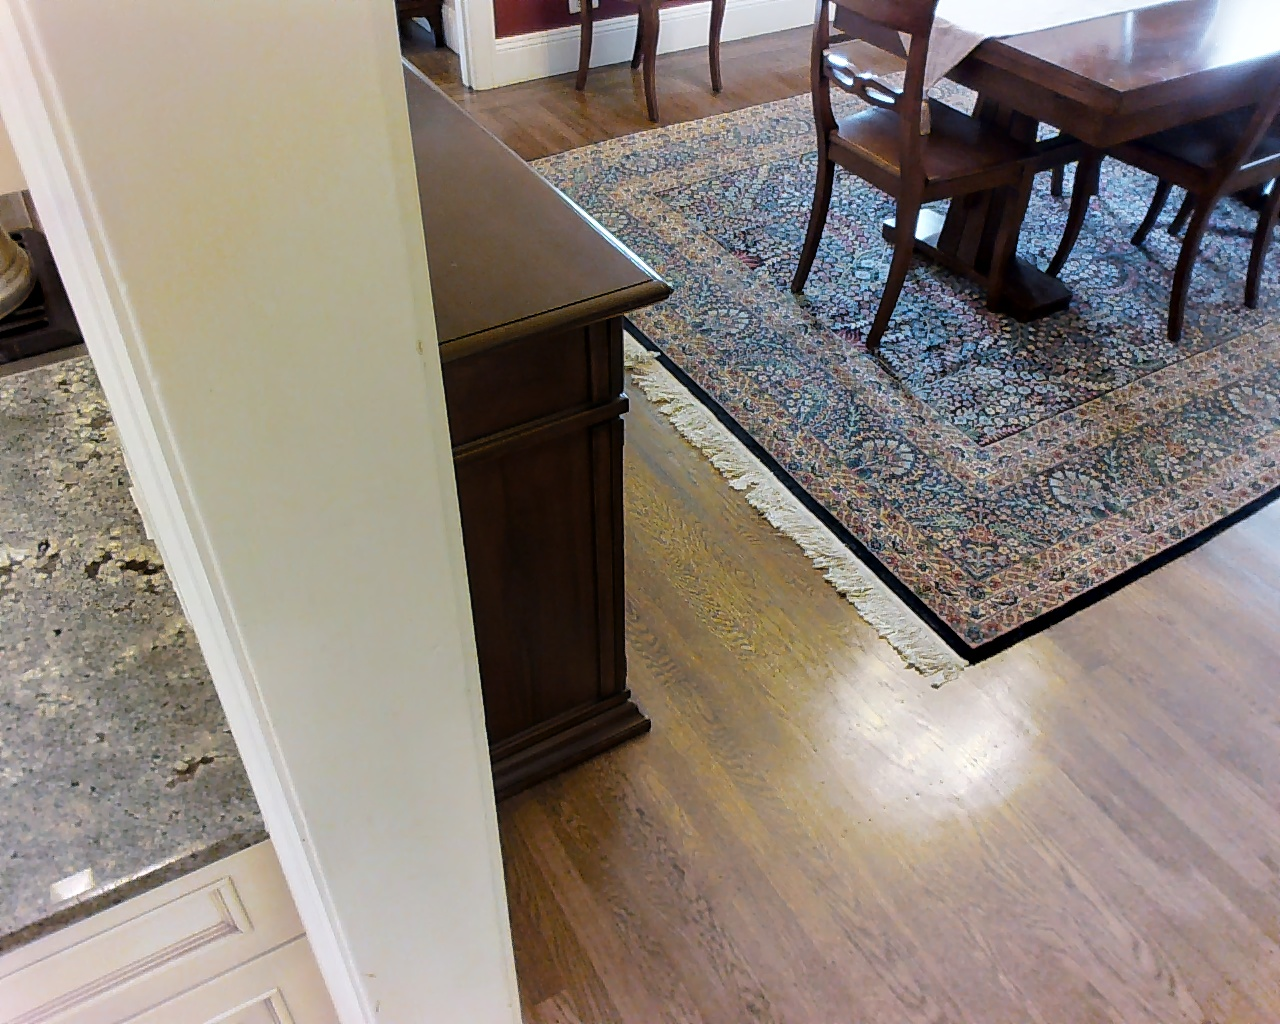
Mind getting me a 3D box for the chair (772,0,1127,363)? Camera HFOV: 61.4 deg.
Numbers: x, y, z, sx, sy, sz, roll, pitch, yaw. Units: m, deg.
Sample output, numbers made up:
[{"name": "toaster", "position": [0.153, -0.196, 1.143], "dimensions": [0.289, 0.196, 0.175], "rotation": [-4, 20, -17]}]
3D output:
[{"name": "chair", "position": [0.770, -0.980, 2.790], "dimensions": [0.640, 0.960, 0.420], "rotation": [-21, 46, -22]}]
